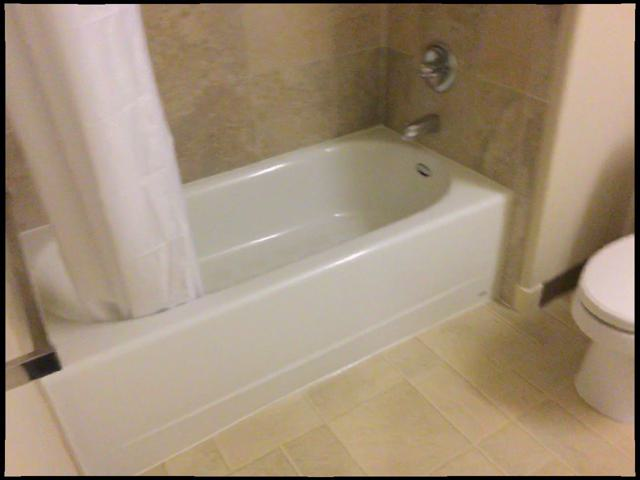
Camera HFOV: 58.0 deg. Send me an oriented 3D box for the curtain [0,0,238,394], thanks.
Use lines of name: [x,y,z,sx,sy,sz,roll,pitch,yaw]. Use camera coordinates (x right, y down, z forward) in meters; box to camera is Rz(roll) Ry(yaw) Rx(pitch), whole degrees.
curtain: [-0.469,-0.481,0.980,0.310,1.742,0.280,-22,38,-23]

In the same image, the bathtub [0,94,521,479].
bathtub: [-0.180,0.060,1.980,1.508,0.561,0.770,-22,38,-23]
